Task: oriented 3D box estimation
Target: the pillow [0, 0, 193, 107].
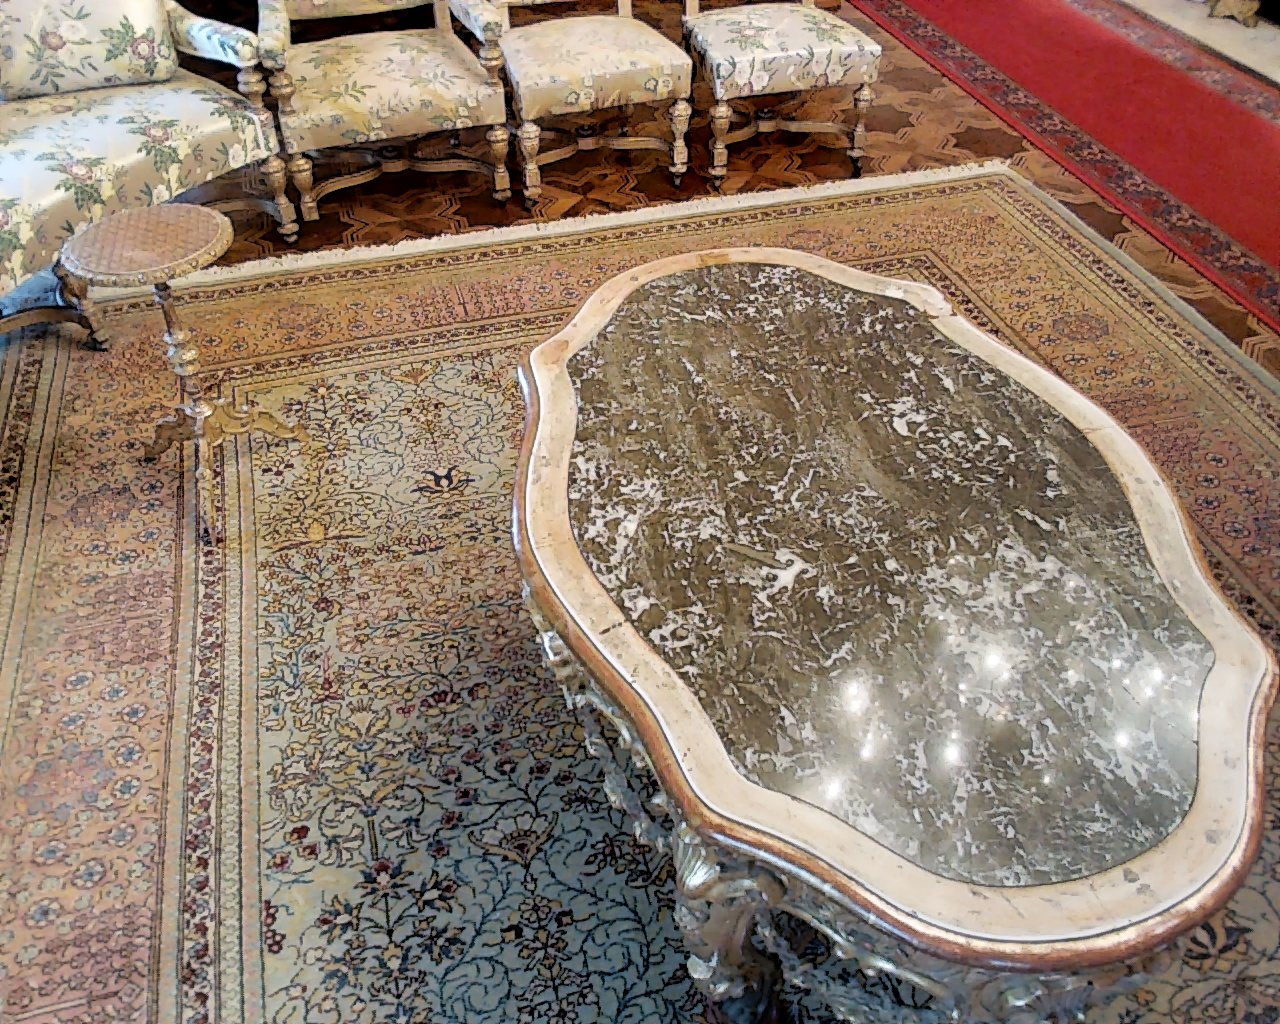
[{"bbox_3d":[-1.630,-1.430,3.160,0.510,0.310,0.300,-11,44,-11],"label":"pillow"}]
